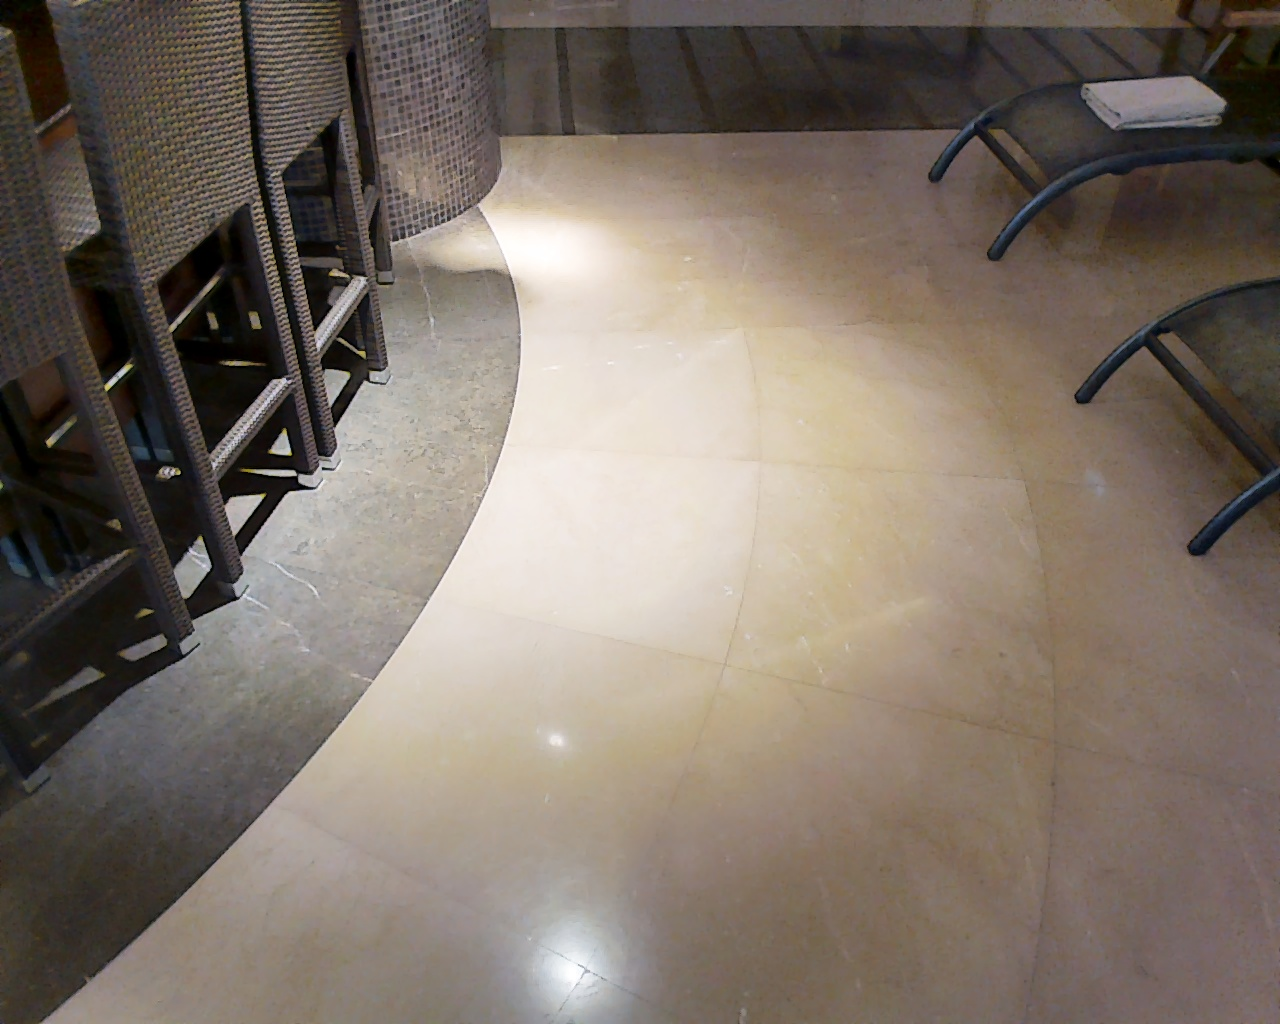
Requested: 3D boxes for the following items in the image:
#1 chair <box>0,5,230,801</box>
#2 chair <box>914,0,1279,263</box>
[{"bbox_3d":[-1.110,-0.140,1.670,0.460,1.150,0.460,16,44,16],"label":"chair"},{"bbox_3d":[1.920,-1.410,3.360,1.790,0.910,0.770,-3,42,-5],"label":"chair"}]
